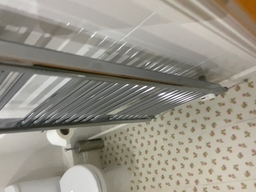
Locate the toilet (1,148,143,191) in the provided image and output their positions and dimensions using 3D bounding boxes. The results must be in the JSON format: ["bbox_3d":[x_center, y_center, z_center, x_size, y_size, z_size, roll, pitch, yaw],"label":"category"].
[{"bbox_3d":[-0.410,0.710,1.600,0.650,0.770,0.370,-31,67,38],"label":"toilet"}]
